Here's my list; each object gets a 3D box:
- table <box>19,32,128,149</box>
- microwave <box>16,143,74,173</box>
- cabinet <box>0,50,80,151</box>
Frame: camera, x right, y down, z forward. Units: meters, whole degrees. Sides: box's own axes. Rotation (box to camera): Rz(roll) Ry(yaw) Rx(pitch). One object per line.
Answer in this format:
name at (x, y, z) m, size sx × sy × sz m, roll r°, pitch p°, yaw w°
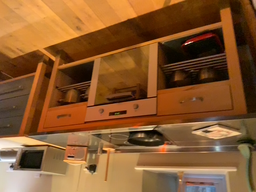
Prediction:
table at (-0.500, 0.000, 2.210) m, size 0.720 × 0.950 × 0.630 m, roll -9°, pitch 152°, yaw 27°
microwave at (-0.890, 0.680, 2.300) m, size 0.450 × 0.260 × 0.330 m, roll -9°, pitch 153°, yaw 26°
cabinet at (-1.250, 0.120, 2.600) m, size 0.990 × 0.960 × 0.620 m, roll -9°, pitch 152°, yaw 27°
